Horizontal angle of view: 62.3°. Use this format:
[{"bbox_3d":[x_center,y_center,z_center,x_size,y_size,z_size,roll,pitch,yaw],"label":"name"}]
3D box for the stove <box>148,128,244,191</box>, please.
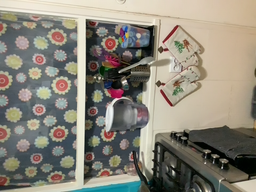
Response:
[{"bbox_3d":[0.300,0.560,1.160,0.590,0.140,0.620,-157,67,-70],"label":"stove"}]
